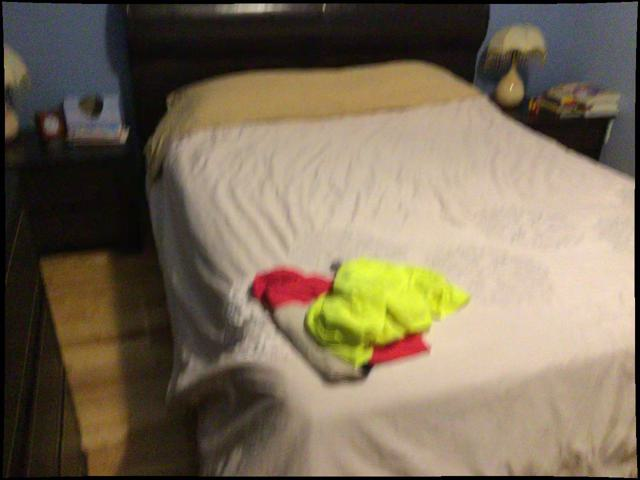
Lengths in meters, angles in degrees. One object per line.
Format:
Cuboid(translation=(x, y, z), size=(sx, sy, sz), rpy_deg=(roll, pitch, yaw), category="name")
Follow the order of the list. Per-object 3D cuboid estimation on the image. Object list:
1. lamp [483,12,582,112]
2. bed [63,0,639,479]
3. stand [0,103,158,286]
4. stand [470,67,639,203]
Cuboid(translation=(1.079, -0.921, 2.980), size=(0.290, 0.420, 0.300), rpy_deg=(-9, 31, -15), category="lamp")
Cuboid(translation=(0.330, -0.270, 2.020), size=(1.948, 1.031, 2.330), rpy_deg=(-9, 31, -15), category="bed")
Cuboid(translation=(-1.099, -0.220, 2.490), size=(0.669, 0.530, 0.550), rpy_deg=(-9, 31, -15), category="stand")
Cuboid(translation=(1.259, -0.581, 3.080), size=(0.659, 0.510, 0.510), rpy_deg=(-9, 31, -15), category="stand")
